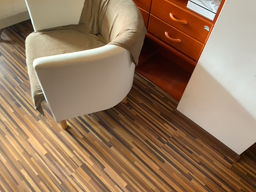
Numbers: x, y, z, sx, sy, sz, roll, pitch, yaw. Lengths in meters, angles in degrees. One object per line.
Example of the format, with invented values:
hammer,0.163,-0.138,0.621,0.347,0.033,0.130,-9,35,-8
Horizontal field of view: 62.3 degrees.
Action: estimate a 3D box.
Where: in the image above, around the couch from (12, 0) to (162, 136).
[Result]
couch,-0.270,-0.250,1.360,0.660,0.620,0.660,-11,56,-13
